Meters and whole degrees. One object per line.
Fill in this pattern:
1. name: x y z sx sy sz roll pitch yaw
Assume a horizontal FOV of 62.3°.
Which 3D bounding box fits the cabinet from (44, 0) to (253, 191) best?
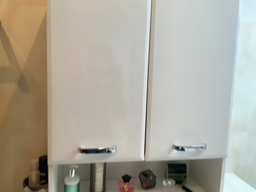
1. cabinet: 0.060 -0.030 0.910 0.730 0.980 0.310 1 7 -10
